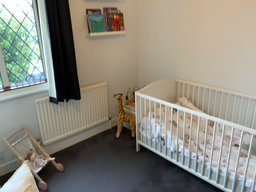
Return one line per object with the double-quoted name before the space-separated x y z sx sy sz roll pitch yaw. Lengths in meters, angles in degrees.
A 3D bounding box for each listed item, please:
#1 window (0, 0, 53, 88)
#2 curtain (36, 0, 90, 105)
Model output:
"window" -1.240 -0.750 1.970 0.870 1.360 0.040 -17 25 -35
"curtain" -0.680 -0.840 2.160 0.400 1.860 0.160 -17 26 -36
